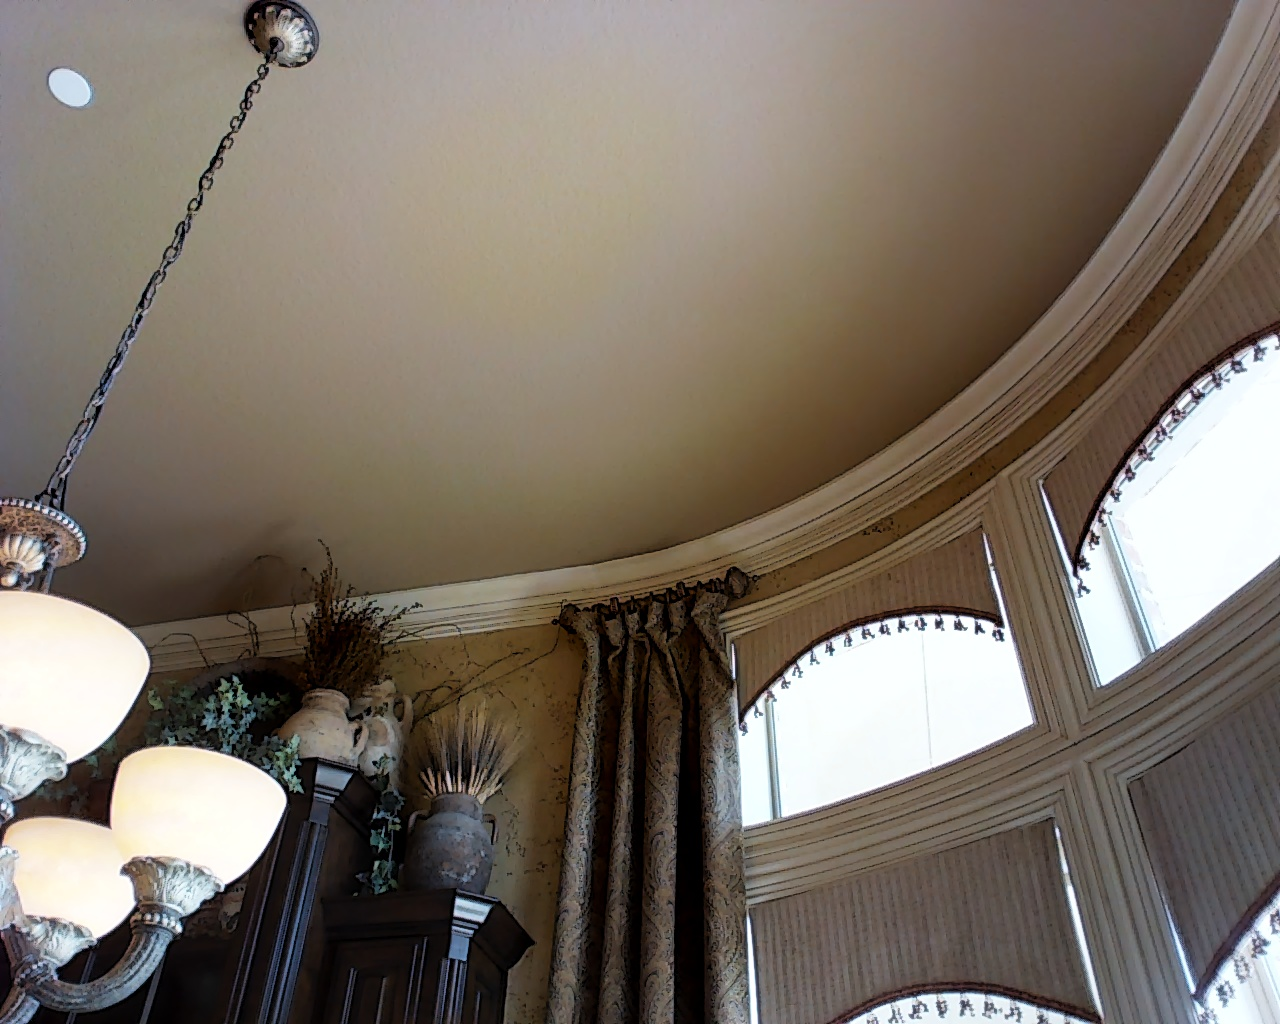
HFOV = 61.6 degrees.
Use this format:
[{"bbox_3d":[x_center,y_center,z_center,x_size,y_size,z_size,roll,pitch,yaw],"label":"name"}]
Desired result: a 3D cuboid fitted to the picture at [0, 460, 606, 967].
[{"bbox_3d":[-0.970,0.590,3.030,1.560,1.010,0.750,-8,-42,12],"label":"picture"}]
